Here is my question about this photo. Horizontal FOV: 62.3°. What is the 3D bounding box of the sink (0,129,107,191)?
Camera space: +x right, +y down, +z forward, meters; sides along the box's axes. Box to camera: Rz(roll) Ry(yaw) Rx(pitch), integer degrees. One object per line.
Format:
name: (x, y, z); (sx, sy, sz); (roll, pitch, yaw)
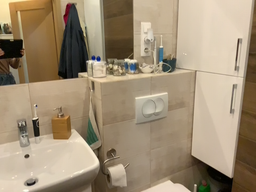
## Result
sink: (-0.470, 0.370, 1.000); (0.610, 0.160, 0.440); (-9, 17, -28)

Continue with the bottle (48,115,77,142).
bottle: (-0.370, 0.180, 1.200); (0.130, 0.110, 0.080); (-9, 17, -28)
